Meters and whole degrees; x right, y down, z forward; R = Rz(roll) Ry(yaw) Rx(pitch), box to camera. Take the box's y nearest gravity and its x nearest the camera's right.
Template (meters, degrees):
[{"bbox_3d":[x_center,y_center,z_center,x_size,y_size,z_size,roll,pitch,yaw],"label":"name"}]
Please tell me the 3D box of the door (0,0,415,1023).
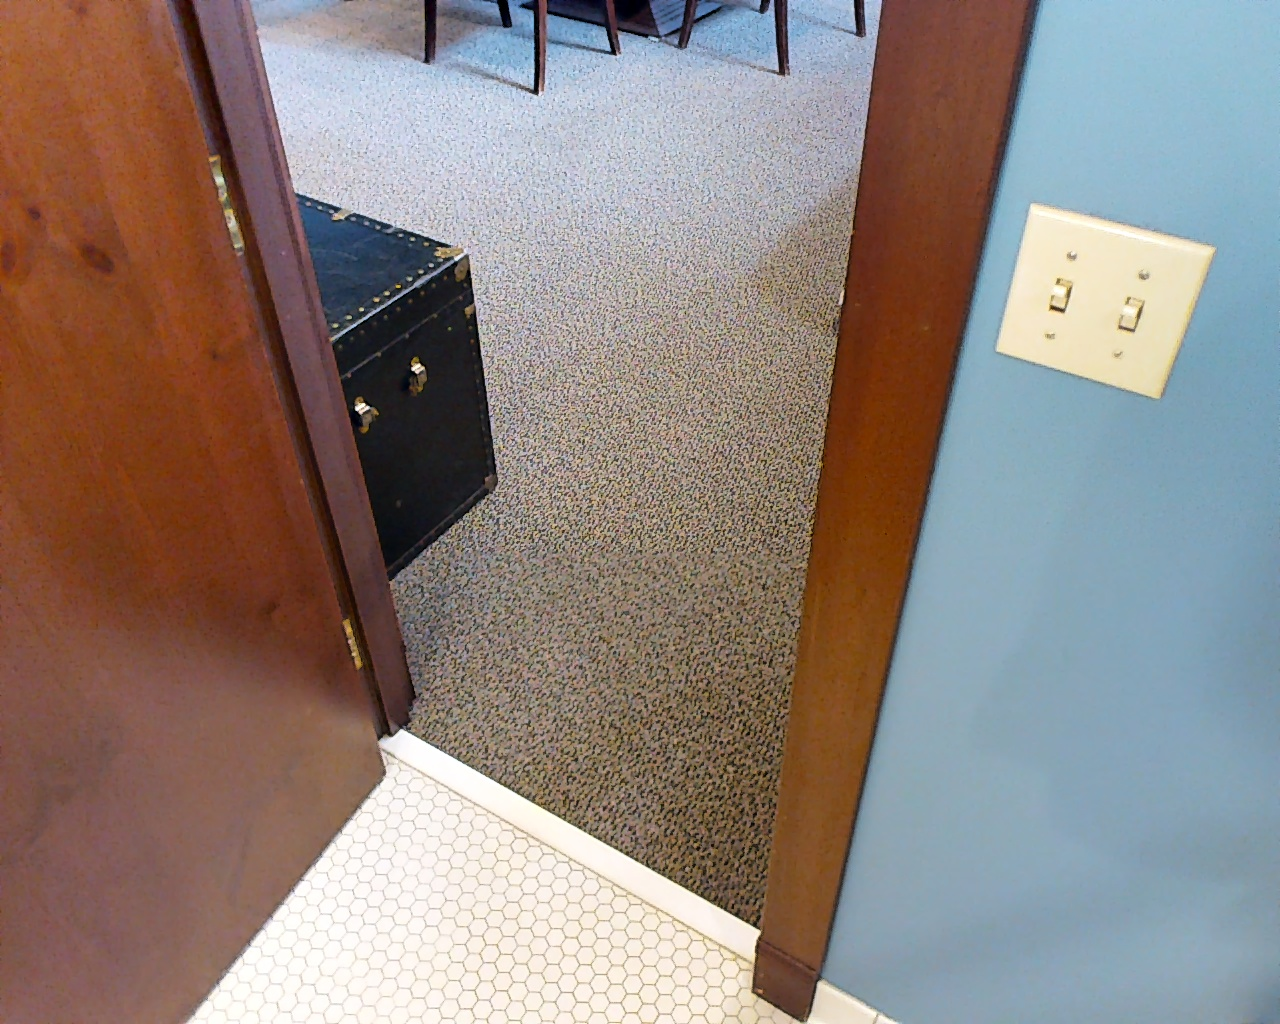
[{"bbox_3d":[-0.630,-0.070,0.950,0.040,2.040,0.860,19,46,20],"label":"door"}]
